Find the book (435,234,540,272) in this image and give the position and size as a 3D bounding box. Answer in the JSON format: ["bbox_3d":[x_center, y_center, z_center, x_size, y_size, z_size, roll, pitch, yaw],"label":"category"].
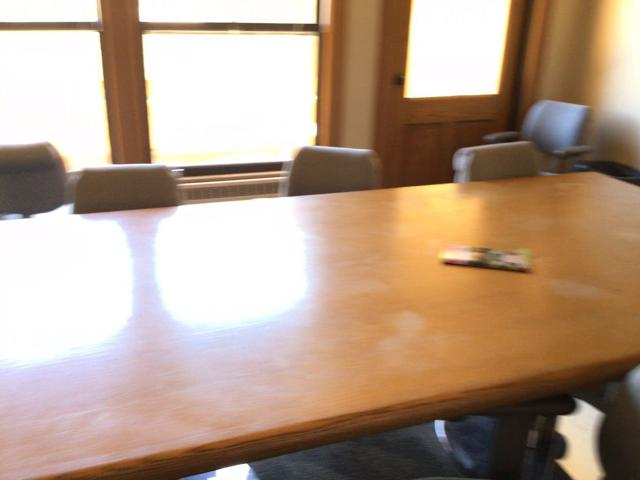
[{"bbox_3d":[0.440,0.030,1.510,0.240,0.020,0.170,6,21,23],"label":"book"}]
